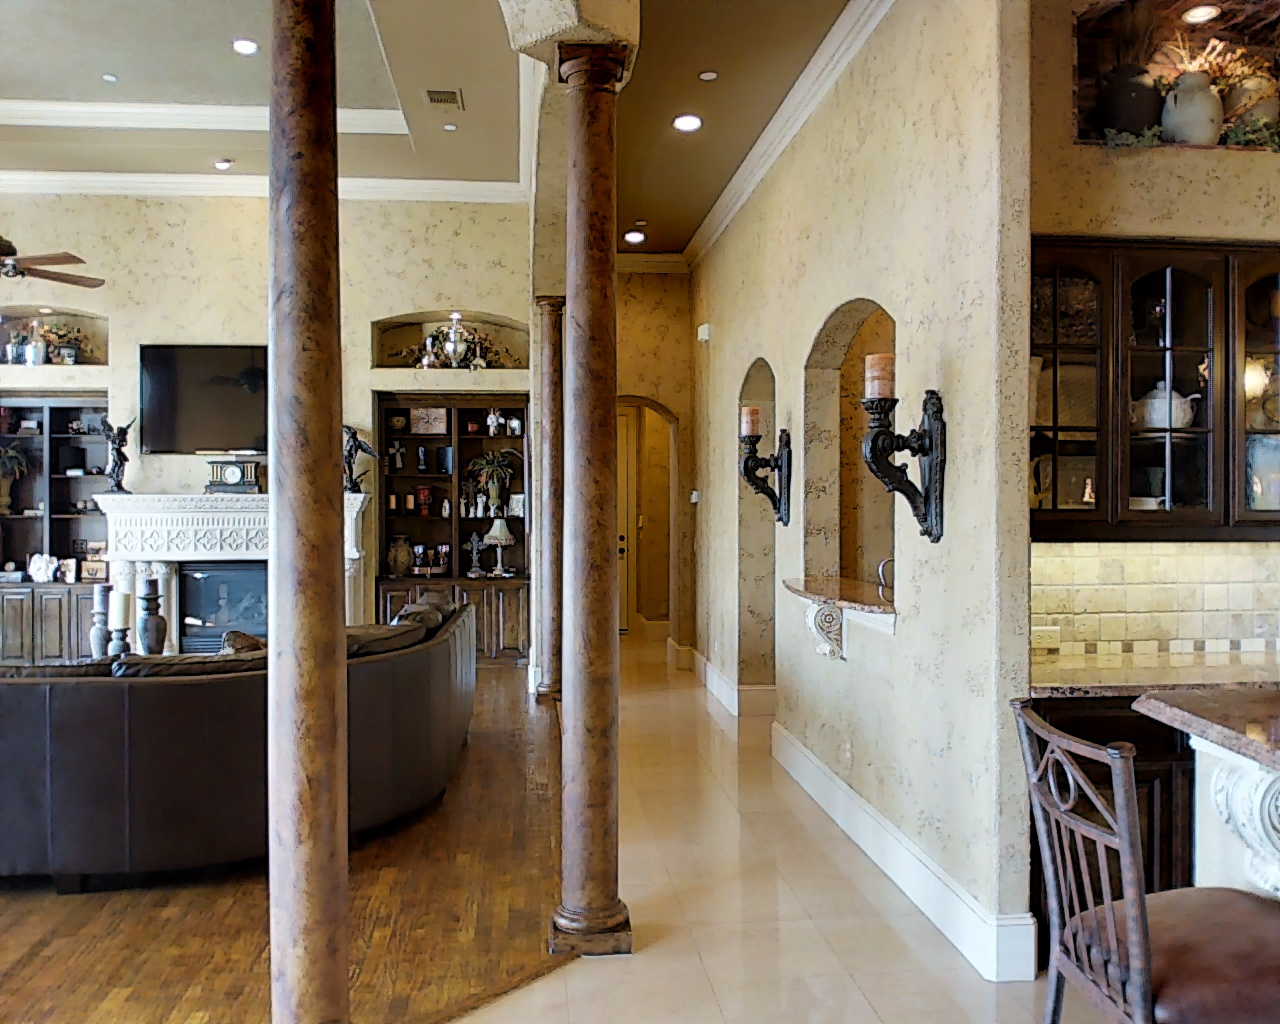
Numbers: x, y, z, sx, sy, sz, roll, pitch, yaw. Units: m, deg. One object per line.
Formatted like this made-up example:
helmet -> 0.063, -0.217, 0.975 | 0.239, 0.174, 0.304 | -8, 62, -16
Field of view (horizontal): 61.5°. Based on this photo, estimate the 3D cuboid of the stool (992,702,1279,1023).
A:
stool -> 0.990, 0.950, 1.920 | 0.520, 1.120, 0.500 | -1, 0, -6
